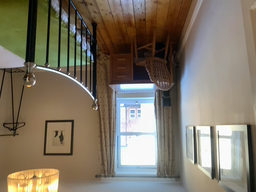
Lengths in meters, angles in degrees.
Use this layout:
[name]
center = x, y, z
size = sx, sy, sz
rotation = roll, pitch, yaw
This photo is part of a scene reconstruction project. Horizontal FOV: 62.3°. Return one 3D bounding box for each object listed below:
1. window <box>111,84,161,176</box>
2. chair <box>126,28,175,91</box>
[window]
center = 0.160, 0.650, 4.250
size = 0.940, 1.720, 0.430
rotation = -1, 172, 6
[chair]
center = 0.350, -0.530, 3.370
size = 0.530, 0.790, 0.560
rotation = 7, 169, -41
